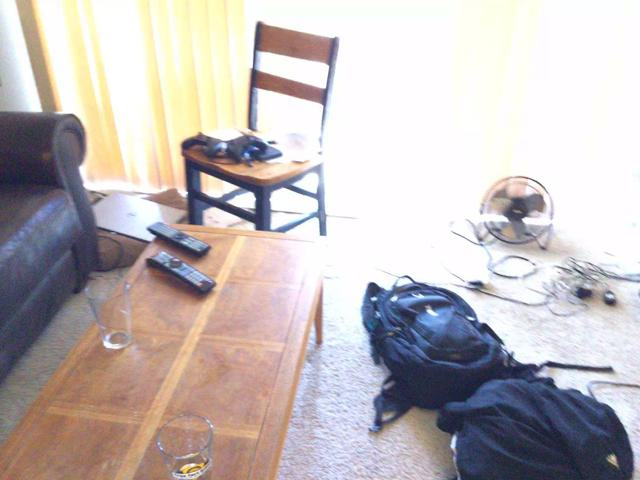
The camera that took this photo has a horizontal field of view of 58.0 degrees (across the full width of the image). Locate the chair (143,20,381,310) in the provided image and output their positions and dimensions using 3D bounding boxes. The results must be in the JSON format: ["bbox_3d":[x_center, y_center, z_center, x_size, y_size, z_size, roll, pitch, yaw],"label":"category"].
[{"bbox_3d":[-0.220,-0.330,2.200,0.580,0.880,0.590,25,33,38],"label":"chair"}]

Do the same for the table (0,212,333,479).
[{"bbox_3d":[-0.320,0.390,1.420,0.590,0.500,1.070,5,26,4],"label":"table"}]
